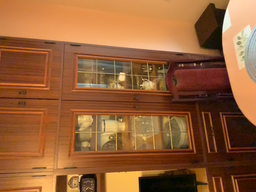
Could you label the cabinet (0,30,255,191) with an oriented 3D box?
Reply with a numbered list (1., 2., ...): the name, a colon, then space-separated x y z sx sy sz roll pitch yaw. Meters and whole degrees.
1. cabinet: 0.090 0.170 1.690 0.500 2.280 0.990 127 144 -65
